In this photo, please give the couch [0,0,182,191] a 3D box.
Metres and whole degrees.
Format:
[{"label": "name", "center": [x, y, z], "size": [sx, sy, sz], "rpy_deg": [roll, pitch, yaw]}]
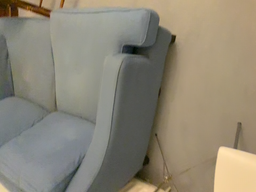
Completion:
[{"label": "couch", "center": [-0.580, -0.020, 1.520], "size": [1.480, 0.850, 1.220], "rpy_deg": [16, 107, 33]}]
